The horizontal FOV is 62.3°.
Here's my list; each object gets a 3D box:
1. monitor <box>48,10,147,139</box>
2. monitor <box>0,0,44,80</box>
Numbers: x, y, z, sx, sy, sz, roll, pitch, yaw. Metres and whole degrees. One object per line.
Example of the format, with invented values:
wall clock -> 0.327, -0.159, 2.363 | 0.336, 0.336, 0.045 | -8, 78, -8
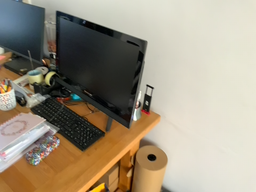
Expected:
monitor -> -0.200, -0.120, 1.020 | 0.580, 0.440, 0.030 | 28, 30, 30
monitor -> -0.730, -0.390, 1.360 | 0.540, 0.420, 0.030 | 24, 29, 25
